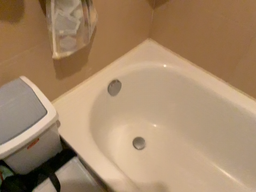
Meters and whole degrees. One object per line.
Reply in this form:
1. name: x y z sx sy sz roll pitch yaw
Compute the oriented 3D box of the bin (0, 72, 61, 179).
1. bin: -0.370 0.100 0.690 0.170 0.250 0.190 38 57 24
